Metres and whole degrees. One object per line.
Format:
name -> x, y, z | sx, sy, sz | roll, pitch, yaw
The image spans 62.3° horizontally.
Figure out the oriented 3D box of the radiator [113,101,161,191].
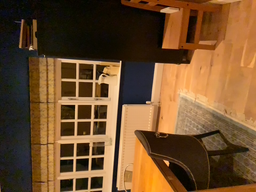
radiator -> 0.130, 1.020, 3.730 | 0.140, 0.660, 1.920 | -132, 45, -67
